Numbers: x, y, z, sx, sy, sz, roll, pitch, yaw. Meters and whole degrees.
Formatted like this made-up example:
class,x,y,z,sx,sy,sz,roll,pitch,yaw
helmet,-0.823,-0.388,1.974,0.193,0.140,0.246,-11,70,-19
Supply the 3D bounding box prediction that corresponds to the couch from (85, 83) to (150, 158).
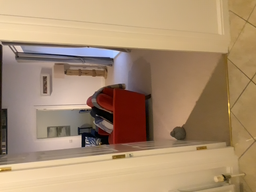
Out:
class,x,y,z,sx,sy,sz,roll,pitch,yaw
couch,-0.270,0.370,3.780,1.340,0.790,1.070,172,97,-70
